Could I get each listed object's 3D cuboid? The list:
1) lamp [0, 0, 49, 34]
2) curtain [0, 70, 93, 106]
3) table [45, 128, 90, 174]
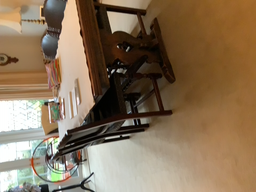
[{"bbox_3d":[-1.650,-1.260,3.340,0.300,0.710,0.410,-47,52,56],"label":"lamp"},{"bbox_3d":[-2.080,-0.170,3.950,0.310,2.840,0.600,25,116,61],"label":"curtain"},{"bbox_3d":[-1.310,1.160,4.510,0.480,0.770,0.760,-47,52,56],"label":"table"}]
